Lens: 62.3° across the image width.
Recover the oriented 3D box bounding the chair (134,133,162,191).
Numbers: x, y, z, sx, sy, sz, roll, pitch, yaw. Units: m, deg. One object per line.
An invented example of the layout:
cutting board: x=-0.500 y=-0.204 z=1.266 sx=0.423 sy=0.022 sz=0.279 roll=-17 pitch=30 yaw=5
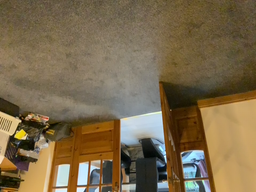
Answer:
chair: x=0.360 y=1.240 z=3.880 sx=0.310 sy=0.980 sz=0.540 roll=-11 pitch=151 yaw=18
